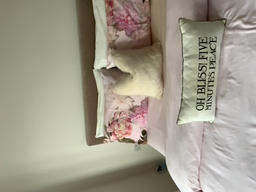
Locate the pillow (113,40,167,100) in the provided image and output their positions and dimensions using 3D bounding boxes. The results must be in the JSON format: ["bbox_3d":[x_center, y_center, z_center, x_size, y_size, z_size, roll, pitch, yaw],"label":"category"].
[{"bbox_3d":[0.090,-0.230,1.750,0.270,0.350,0.440,-152,59,-62],"label":"pillow"}]

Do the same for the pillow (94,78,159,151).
[{"bbox_3d":[0.000,0.170,2.020,0.150,0.410,0.550,22,139,65],"label":"pillow"}]
